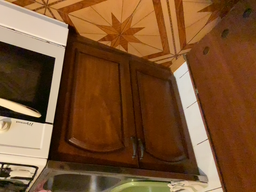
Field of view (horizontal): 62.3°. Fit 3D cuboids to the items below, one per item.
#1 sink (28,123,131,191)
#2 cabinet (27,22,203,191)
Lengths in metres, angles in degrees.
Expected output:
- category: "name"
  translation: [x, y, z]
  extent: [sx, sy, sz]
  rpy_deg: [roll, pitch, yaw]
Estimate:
- category: "sink"
  translation: [-0.280, 0.380, 1.130]
  extent: [0.360, 0.200, 0.540]
  rpy_deg: [15, 142, -25]
- category: "cabinet"
  translation: [-0.110, 0.150, 1.390]
  extent: [0.780, 0.840, 0.580]
  rpy_deg: [15, 142, -25]
